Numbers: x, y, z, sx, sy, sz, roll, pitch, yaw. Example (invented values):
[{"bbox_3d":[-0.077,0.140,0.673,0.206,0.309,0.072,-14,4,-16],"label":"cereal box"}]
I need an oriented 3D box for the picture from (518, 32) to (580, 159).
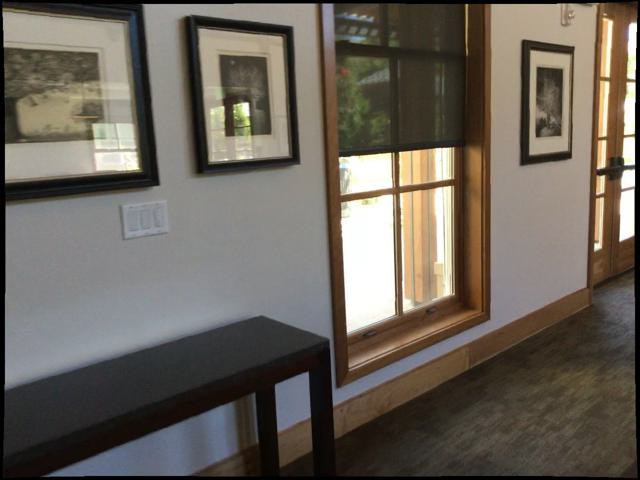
[{"bbox_3d":[1.449,-0.901,3.620,0.660,0.731,0.030,-12,11,-39],"label":"picture"}]

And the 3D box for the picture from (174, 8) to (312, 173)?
[{"bbox_3d":[-0.270,-0.561,2.200,0.520,0.561,0.050,-12,11,-39],"label":"picture"}]

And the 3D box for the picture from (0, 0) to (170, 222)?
[{"bbox_3d":[-0.929,-0.390,1.690,0.939,0.661,0.060,-12,11,-39],"label":"picture"}]
